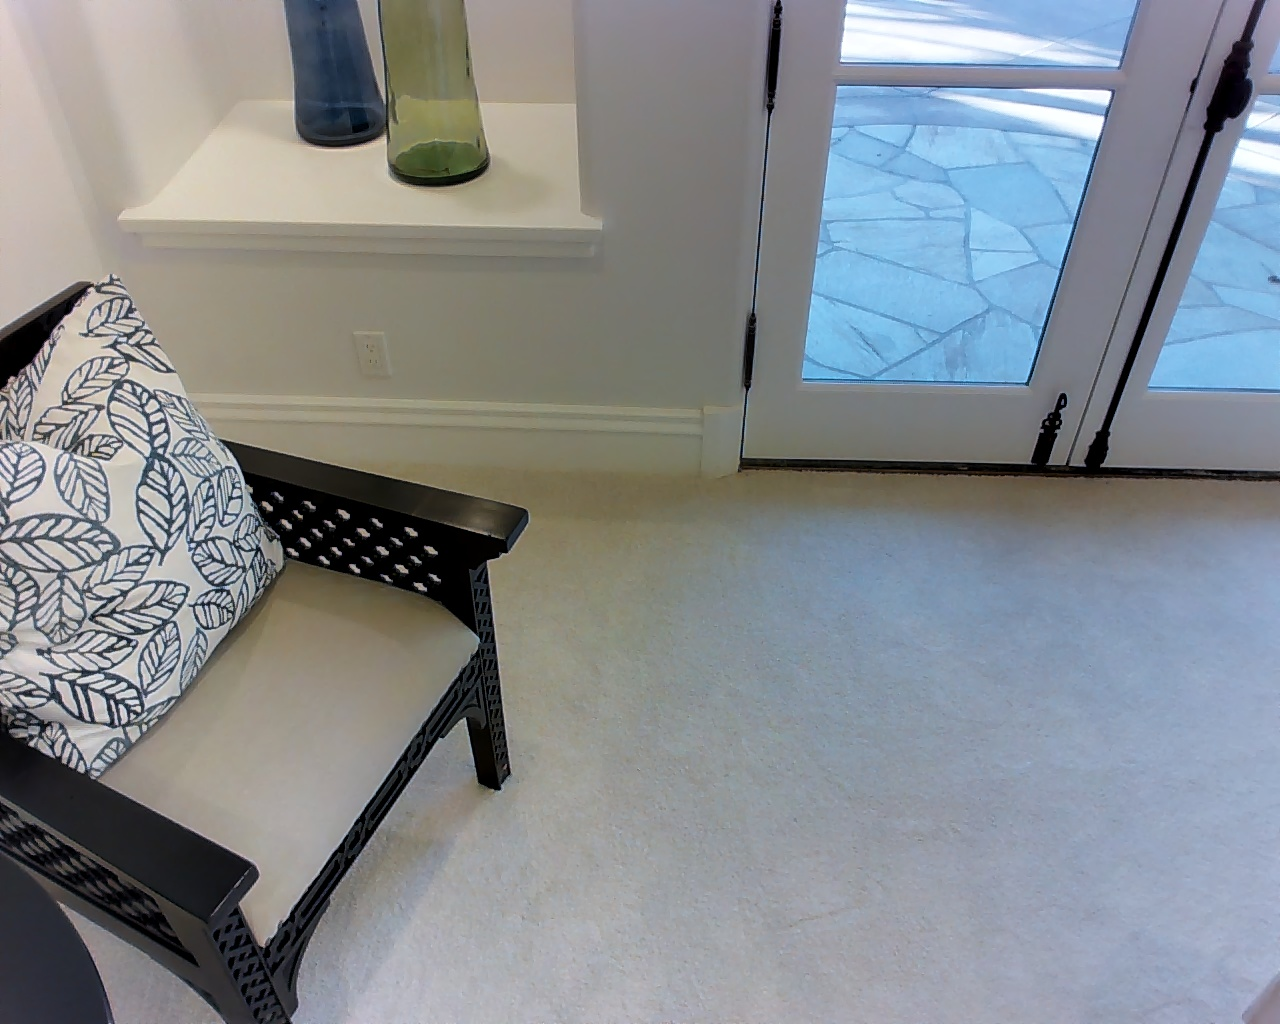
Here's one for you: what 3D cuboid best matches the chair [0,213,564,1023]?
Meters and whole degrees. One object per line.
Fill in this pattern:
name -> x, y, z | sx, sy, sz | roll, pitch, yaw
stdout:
chair -> -0.610, 0.210, 1.490 | 0.730, 0.890, 0.670 | 17, 45, 19

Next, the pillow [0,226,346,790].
pillow -> -0.690, 0.010, 1.400 | 0.290, 0.490, 0.490 | 17, 60, 11
